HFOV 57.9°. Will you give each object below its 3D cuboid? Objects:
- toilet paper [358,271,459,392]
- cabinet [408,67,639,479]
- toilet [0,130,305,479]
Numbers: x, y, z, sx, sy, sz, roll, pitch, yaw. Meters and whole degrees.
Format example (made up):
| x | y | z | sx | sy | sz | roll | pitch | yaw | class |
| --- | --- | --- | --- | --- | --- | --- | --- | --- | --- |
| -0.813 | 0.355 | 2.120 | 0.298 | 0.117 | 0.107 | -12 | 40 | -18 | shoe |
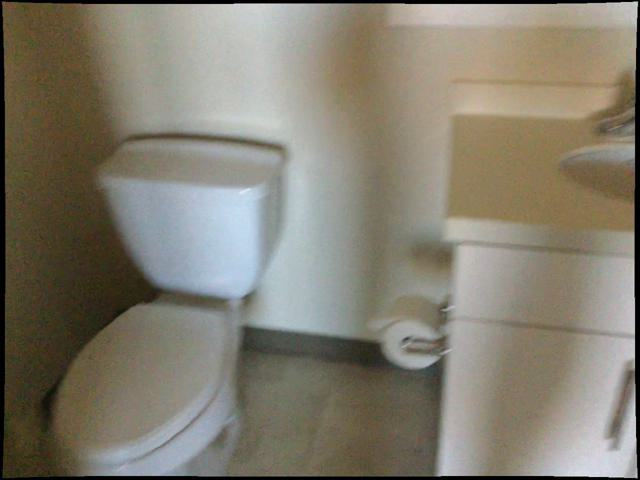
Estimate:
| x | y | z | sx | sy | sz | roll | pitch | yaw | class |
| --- | --- | --- | --- | --- | --- | --- | --- | --- | --- |
| 0.200 | 0.200 | 1.300 | 0.200 | 0.170 | 0.180 | 6 | 32 | 13 | toilet paper |
| 0.659 | 0.160 | 1.290 | 0.829 | 0.901 | 0.600 | 6 | 32 | 13 | cabinet |
| -0.380 | 0.250 | 1.440 | 0.460 | 0.791 | 0.760 | 6 | 32 | 13 | toilet |
